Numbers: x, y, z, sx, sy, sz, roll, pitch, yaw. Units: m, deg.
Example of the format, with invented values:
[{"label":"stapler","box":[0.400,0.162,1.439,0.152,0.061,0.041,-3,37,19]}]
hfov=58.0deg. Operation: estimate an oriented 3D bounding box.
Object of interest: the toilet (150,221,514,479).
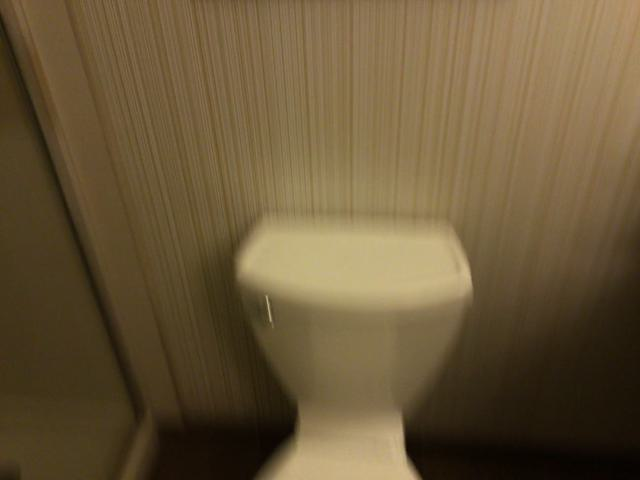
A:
[{"label":"toilet","box":[0.040,0.500,1.070,0.450,0.740,0.780,3,36,6]}]
